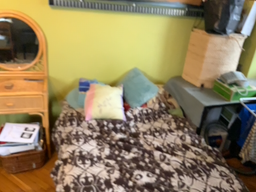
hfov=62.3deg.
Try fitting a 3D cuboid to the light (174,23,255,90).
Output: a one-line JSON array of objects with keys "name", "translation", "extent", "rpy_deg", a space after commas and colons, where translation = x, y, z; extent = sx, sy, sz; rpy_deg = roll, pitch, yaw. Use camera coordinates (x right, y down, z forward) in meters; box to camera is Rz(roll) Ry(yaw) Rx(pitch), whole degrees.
[{"name": "light", "translation": [0.920, -0.430, 2.340], "extent": [0.590, 0.630, 0.380], "rpy_deg": [0, 26, -13]}]
